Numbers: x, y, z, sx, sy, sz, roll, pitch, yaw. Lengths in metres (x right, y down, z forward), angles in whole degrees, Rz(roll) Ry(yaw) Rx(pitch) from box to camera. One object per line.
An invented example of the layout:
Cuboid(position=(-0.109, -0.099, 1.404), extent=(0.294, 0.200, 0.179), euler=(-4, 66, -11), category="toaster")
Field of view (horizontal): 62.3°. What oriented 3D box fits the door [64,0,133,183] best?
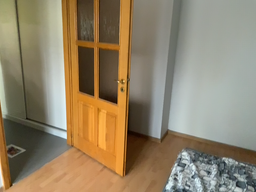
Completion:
Cuboid(position=(-0.380, -0.230, 2.350), extent=(1.030, 2.180, 0.070), euler=(18, 22, 41), category="door")
